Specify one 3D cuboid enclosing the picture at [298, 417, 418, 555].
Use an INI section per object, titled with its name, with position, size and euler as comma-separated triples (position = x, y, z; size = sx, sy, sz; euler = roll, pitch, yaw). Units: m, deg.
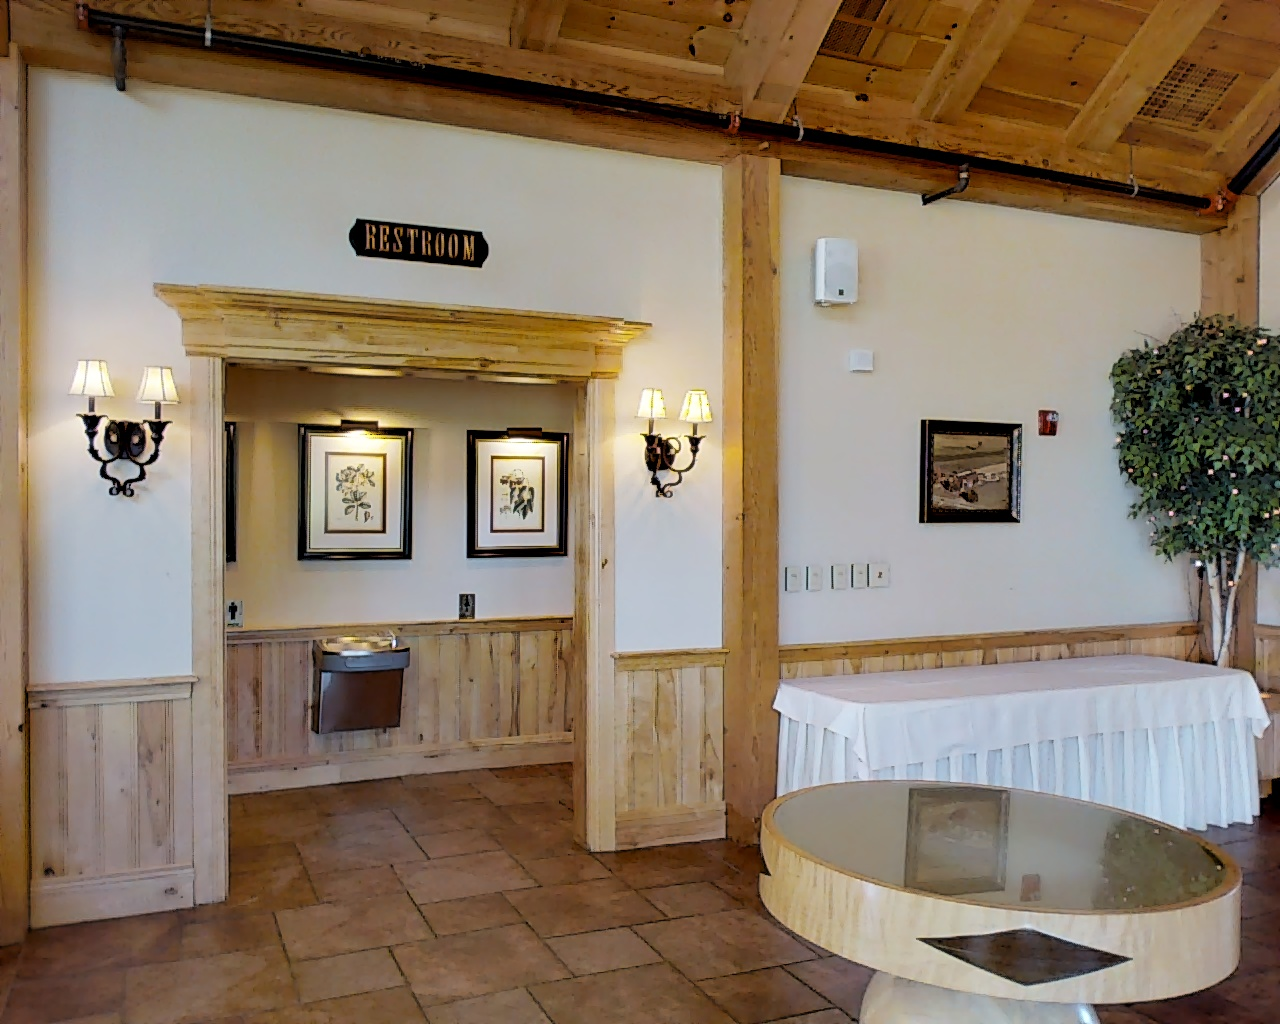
[picture]
position = -1.590, -0.140, 6.060
size = 0.650, 0.760, 0.060
euler = 0, 1, -24
